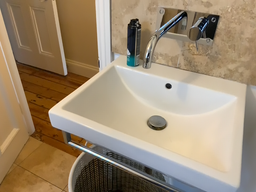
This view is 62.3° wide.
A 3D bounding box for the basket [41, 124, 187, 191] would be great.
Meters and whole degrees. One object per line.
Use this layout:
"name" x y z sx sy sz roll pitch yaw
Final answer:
"basket" -0.050 0.550 1.080 0.500 0.480 0.500 17 38 19
